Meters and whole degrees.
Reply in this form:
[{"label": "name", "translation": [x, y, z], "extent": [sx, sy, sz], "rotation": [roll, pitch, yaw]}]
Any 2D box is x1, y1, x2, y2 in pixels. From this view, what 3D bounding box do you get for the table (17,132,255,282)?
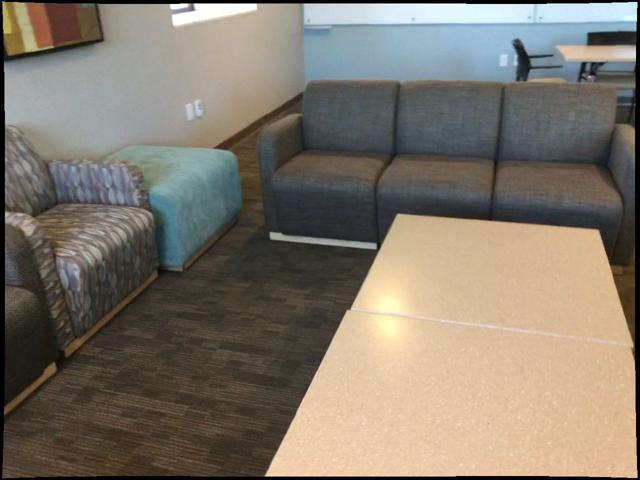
[{"label": "table", "translation": [-0.967, -0.241, 3.280], "extent": [0.868, 0.481, 0.920], "rotation": [5, 27, 16]}]
